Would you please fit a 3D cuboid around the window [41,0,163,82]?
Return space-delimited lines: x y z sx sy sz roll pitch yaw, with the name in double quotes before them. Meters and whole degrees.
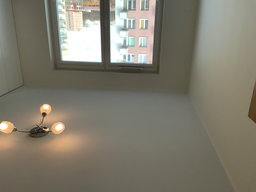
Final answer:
"window" -0.400 -1.310 3.160 1.810 2.130 0.180 4 -160 9
